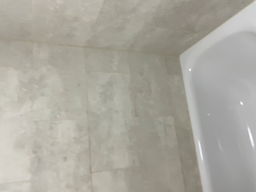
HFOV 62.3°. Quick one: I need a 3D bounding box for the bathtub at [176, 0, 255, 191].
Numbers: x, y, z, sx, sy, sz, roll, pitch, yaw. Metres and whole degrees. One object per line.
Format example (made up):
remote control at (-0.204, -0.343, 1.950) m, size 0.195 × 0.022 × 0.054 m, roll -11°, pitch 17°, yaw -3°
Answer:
bathtub at (0.840, 0.400, 1.250) m, size 0.690 × 0.550 × 1.640 m, roll 145°, pitch 123°, yaw -62°
